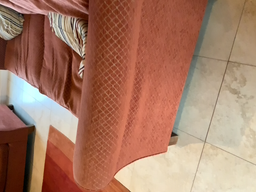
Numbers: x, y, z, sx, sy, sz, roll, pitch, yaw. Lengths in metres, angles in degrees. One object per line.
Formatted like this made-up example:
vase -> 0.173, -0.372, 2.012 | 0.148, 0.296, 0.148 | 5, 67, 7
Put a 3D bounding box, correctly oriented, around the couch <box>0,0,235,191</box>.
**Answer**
couch -> -0.650, -0.400, 1.600 | 2.240, 0.920, 1.170 | 27, 110, 40
